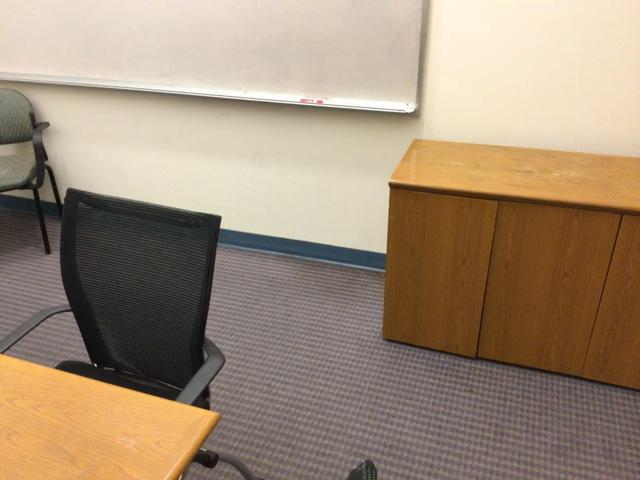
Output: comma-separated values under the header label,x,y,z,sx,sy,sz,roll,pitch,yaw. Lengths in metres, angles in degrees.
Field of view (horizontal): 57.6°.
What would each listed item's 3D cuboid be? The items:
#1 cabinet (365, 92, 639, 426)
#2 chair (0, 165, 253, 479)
label,x,y,z,sx,sy,sz,roll,pitch,yaw
cabinet,1.050,0.080,2.110,1.610,0.910,0.560,13,29,20
chair,-0.550,0.290,1.340,0.540,0.680,0.630,13,29,20
